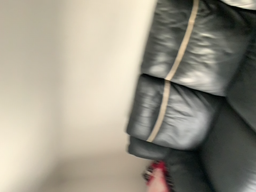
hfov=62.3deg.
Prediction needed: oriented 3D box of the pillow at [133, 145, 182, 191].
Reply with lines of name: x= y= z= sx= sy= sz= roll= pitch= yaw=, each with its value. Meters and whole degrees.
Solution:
pillow: x=0.280 y=0.900 z=2.130 sx=0.640 sy=0.230 sz=0.450 roll=-110 pitch=27 yaw=-52
